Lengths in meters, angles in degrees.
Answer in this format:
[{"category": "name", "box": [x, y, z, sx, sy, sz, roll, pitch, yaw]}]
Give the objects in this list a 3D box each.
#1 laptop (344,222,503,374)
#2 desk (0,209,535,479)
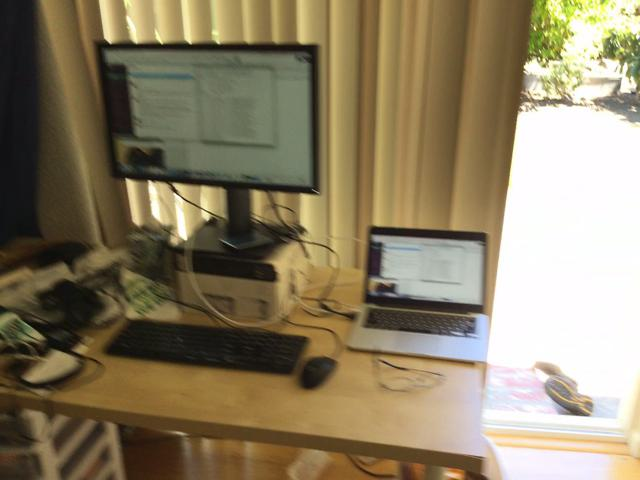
[{"category": "laptop", "box": [0.260, 0.120, 1.430, 0.320, 0.190, 0.390, 7, 20, 11]}, {"category": "desk", "box": [-0.320, 0.470, 1.590, 1.420, 0.790, 0.910, 4, 19, 4]}]
